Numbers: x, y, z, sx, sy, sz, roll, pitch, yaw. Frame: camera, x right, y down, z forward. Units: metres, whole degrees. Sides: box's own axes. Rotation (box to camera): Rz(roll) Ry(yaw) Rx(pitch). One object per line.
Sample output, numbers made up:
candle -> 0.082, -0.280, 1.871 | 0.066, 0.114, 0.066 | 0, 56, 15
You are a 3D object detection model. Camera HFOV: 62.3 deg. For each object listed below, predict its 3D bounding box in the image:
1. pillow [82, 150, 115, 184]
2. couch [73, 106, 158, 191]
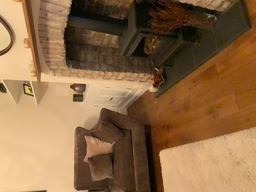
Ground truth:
pillow -> -0.400, 0.960, 2.890 | 0.150, 0.420, 0.410 | 39, -133, -73
couch -> -0.230, 1.280, 2.920 | 1.010, 0.930, 2.050 | 135, 134, -63
